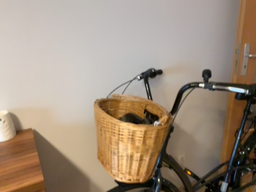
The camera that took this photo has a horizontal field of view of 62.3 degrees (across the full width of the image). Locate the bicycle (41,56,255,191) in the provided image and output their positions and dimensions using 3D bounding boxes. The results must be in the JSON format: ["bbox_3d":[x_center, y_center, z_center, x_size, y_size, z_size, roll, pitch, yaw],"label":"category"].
[{"bbox_3d":[0.600,0.380,1.380,1.970,1.080,0.530,-11,22,-24],"label":"bicycle"}]
